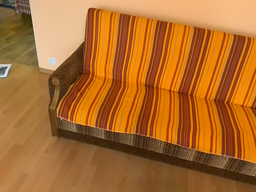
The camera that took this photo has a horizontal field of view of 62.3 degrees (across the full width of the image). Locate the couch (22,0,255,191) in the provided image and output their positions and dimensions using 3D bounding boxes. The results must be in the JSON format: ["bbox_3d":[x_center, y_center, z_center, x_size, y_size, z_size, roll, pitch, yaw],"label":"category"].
[{"bbox_3d":[0.520,-0.030,1.750,2.180,0.940,1.010,13,38,5],"label":"couch"}]
